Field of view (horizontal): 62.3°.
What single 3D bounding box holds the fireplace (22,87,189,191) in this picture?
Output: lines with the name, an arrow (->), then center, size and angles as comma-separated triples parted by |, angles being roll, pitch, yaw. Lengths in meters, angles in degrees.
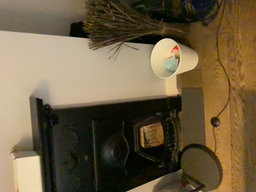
fireplace -> -0.050, 0.370, 1.440 | 0.230, 1.130, 0.820 | 0, 93, 53

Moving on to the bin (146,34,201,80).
bin -> 0.330, -0.270, 1.560 | 0.280, 0.270, 0.290 | 5, 97, 53
